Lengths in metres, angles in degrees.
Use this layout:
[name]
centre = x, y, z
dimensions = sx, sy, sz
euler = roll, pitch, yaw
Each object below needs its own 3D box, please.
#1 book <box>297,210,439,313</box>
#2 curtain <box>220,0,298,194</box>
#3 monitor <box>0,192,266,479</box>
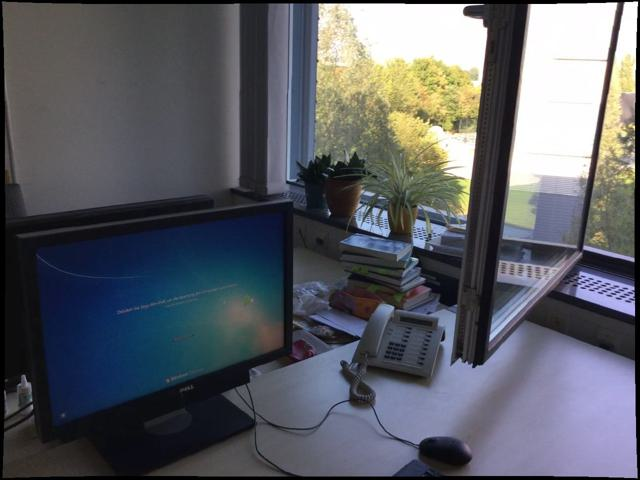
[book]
centre = 0.170, 0.060, 2.110
dimensions = 0.360, 0.200, 0.360
euler = -16, 26, -40
[curtain]
centre = -0.320, -1.051, 2.990
dimensions = 0.180, 1.561, 0.420
euler = -16, 28, -39
[monitor]
centre = -0.380, 0.190, 1.140
dimensions = 0.540, 0.460, 0.180
euler = -16, 26, -40
